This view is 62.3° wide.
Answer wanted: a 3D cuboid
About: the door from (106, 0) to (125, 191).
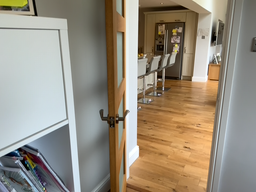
[{"bbox_3d":[-0.060,-0.090,1.450,0.070,1.860,0.900,0,16,0],"label":"door"}]
